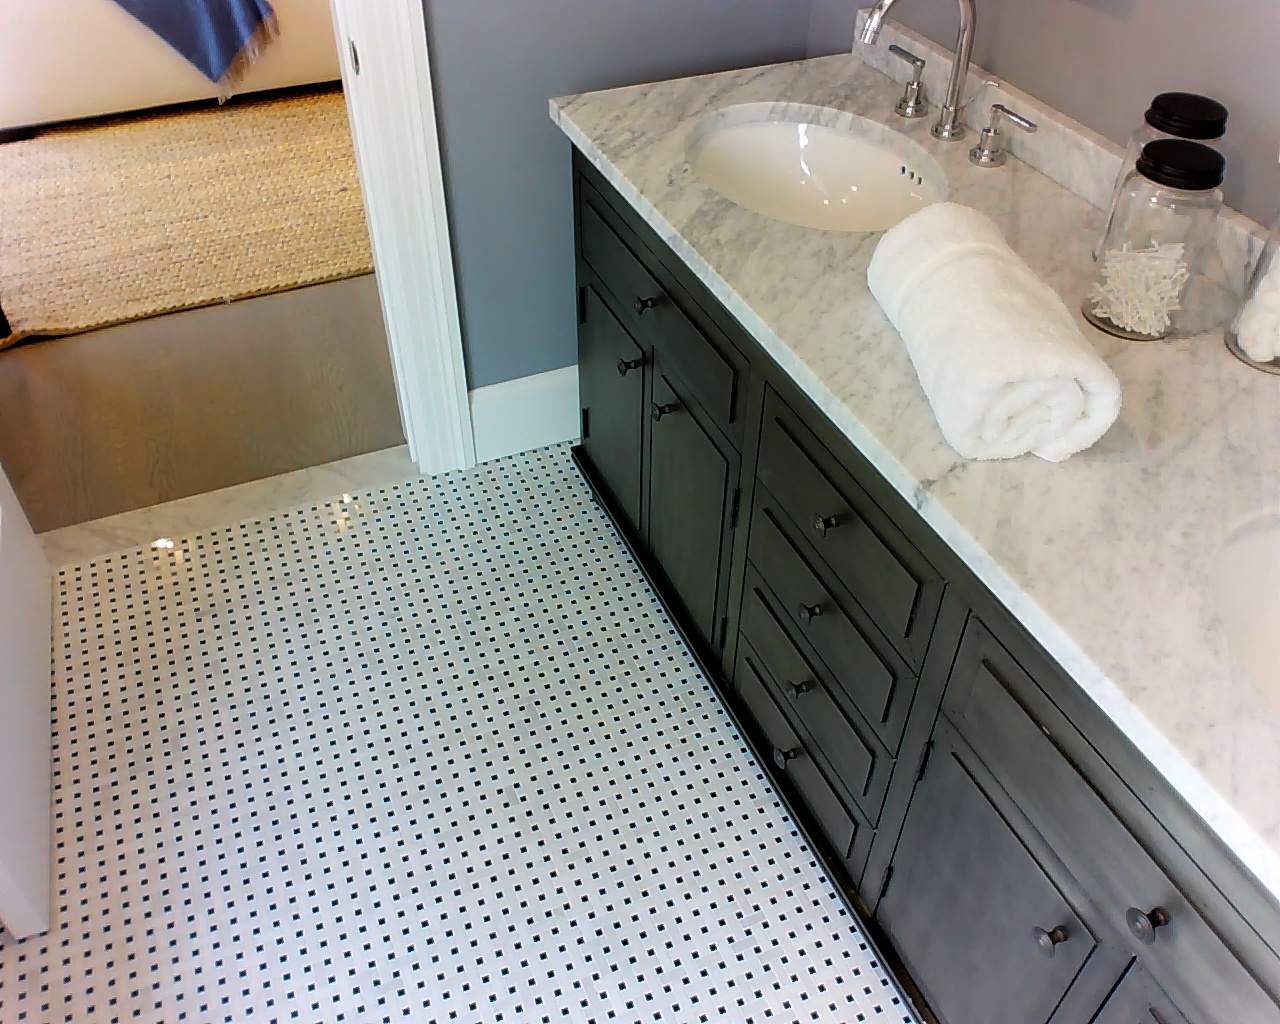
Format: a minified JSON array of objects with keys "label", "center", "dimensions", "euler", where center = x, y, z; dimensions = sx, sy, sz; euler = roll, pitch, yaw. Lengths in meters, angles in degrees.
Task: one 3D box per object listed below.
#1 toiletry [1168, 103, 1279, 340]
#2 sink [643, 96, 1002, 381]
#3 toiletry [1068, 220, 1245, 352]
[{"label":"toiletry","center":[0.770,-0.330,1.270],"dimensions":[0.060,0.210,0.240],"euler":[-16,45,-18]},{"label":"sink","center":[0.260,-0.450,1.700],"dimensions":[0.350,0.200,0.460],"euler":[-16,45,-18]},{"label":"toiletry","center":[0.610,-0.270,1.280],"dimensions":[0.130,0.090,0.110],"euler":[-16,45,-18]}]
